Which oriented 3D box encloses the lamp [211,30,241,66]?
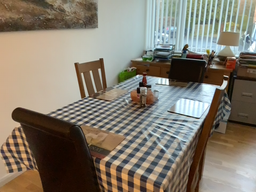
[{"bbox_3d":[1.430,-0.710,3.100,0.290,0.460,0.300,12,23,30],"label":"lamp"}]

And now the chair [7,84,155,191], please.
[{"bbox_3d":[-0.200,0.510,1.270,0.470,0.990,0.610,11,22,27],"label":"chair"}]
